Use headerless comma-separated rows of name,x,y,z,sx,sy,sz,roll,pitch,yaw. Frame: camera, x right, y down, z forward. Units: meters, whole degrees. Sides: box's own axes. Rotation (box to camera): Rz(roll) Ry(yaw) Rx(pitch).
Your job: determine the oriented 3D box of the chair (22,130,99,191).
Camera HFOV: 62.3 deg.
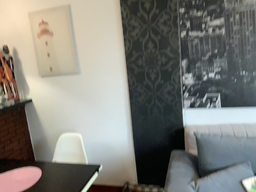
chair,-0.610,0.810,2.080,0.420,0.800,0.490,-2,12,17
